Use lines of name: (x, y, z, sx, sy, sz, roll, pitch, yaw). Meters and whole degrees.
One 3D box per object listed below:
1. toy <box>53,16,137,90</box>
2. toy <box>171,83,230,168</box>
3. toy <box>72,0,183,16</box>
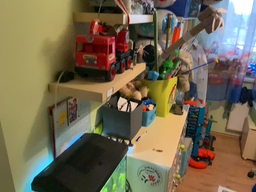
toy: (-0.130, -0.260, 1.110, 0.170, 0.290, 0.520, 10, 23, 20)
toy: (0.940, 0.300, 2.690, 0.520, 0.640, 0.920, 11, 23, 21)
toy: (0.080, -0.640, 1.280, 0.340, 0.280, 0.900, 11, 23, 22)
